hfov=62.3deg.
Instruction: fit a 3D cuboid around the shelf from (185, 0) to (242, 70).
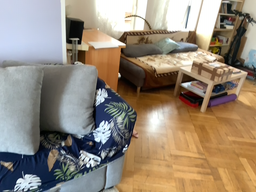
[{"bbox_3d":[1.820,-1.440,4.490,0.810,1.660,0.370,-12,33,-33],"label":"shelf"}]
